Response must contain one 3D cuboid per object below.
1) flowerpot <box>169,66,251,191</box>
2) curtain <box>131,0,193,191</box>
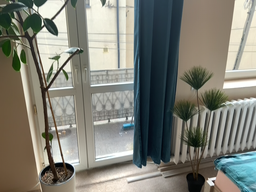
[{"bbox_3d":[0.670,0.330,1.880,0.420,1.110,0.350,-5,20,-16],"label":"flowerpot"},{"bbox_3d":[0.270,-0.420,1.760,0.420,3.130,0.160,-5,20,-15],"label":"curtain"}]
